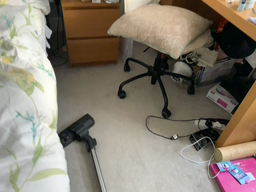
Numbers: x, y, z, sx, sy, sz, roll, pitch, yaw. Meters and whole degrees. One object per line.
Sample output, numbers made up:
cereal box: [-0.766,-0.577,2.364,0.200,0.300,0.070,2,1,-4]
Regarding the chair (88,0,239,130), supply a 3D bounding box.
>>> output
chair: [0.190,-0.440,1.350,0.660,1.010,0.570,35,49,25]
